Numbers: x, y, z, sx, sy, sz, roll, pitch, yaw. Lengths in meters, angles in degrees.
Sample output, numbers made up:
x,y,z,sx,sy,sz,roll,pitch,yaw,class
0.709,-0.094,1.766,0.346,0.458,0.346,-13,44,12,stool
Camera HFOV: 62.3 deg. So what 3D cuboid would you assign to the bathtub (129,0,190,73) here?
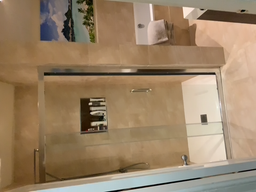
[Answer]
x,y,z,sx,sy,sz,roll,pitch,yaw,class
0.430,-1.260,3.330,0.740,0.570,1.650,153,114,-72,bathtub
